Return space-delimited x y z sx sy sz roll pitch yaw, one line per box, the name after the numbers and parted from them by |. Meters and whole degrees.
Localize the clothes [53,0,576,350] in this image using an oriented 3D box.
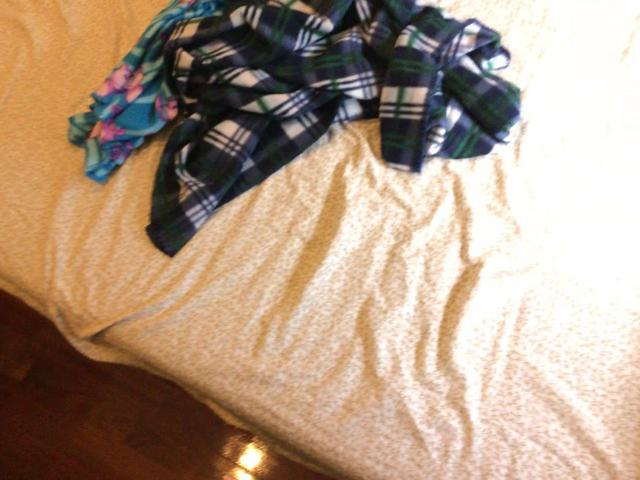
0.020 -0.230 0.850 0.540 0.120 0.590 22 70 17 | clothes

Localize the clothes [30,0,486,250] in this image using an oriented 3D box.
0.060 -0.570 1.010 0.530 0.120 1.110 22 70 16 | clothes
